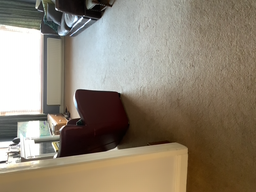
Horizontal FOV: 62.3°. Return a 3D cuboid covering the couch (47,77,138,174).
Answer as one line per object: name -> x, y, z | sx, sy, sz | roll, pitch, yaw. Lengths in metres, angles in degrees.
couch -> -0.520, 0.350, 2.710 | 0.780, 0.820, 0.860 | -61, 39, 42
